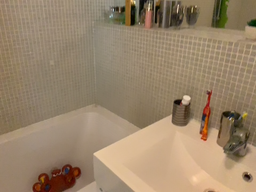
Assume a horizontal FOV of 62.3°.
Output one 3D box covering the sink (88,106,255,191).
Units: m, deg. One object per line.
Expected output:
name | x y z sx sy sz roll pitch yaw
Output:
sink | 0.280 0.300 0.720 0.520 0.160 0.700 -18 30 -38
